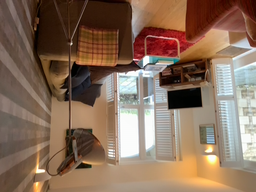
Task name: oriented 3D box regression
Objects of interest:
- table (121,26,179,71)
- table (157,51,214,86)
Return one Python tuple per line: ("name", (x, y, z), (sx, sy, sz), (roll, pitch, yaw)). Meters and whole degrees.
("table", (0.300, -0.720, 3.470), (0.570, 0.330, 1.040), (1, 171, -17))
("table", (1.180, -0.540, 4.390), (1.000, 0.450, 0.530), (-6, 170, 31))
